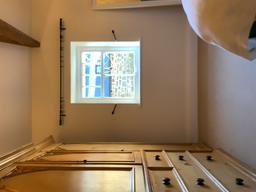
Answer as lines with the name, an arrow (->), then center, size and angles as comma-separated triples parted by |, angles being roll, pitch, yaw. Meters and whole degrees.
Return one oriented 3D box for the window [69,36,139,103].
window -> -0.370, -0.410, 3.490 | 0.320, 1.100, 1.050 | -47, -43, -89
